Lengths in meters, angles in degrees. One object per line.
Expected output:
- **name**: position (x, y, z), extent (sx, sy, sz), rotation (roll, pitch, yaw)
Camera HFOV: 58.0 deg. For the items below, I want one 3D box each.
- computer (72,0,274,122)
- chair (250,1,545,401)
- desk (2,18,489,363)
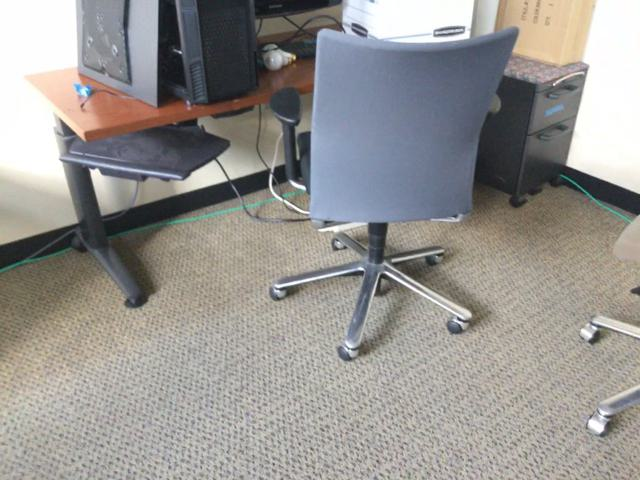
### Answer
- **computer**: position (-0.460, -0.740, 1.710), extent (0.350, 0.600, 0.610), rotation (-19, 34, -35)
- **chair**: position (0.170, -0.170, 1.740), extent (0.610, 0.990, 0.760), rotation (-1, 23, 0)
- **desk**: position (-0.200, -0.350, 2.260), extent (1.560, 0.820, 0.780), rotation (-19, 34, -35)
